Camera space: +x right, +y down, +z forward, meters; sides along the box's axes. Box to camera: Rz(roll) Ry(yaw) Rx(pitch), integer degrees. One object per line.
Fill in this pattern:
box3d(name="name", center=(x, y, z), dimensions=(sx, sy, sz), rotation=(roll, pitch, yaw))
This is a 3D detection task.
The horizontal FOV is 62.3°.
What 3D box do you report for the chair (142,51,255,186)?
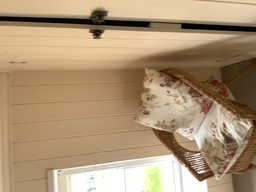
box3d(name="chair", center=(0.590, 0.100, 1.390), dimensions=(0.560, 0.780, 0.590), rotation=(-114, 26, -51))
